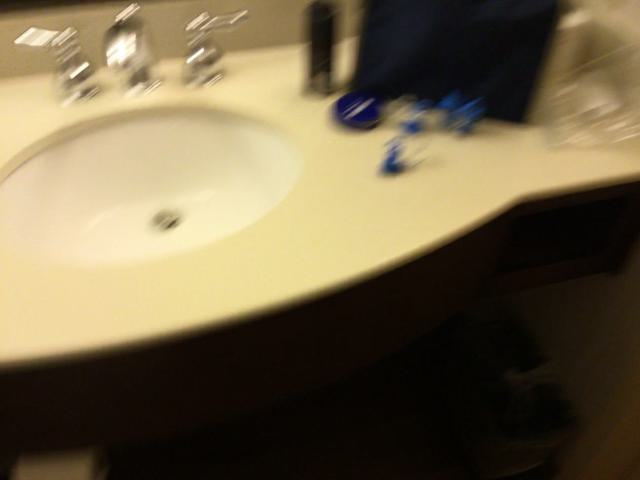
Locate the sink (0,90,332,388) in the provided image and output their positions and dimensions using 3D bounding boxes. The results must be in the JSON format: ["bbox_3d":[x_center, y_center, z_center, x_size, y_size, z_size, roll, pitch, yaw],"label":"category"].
[{"bbox_3d":[-0.240,-0.030,0.840,0.430,0.180,0.350,-10,43,-12],"label":"sink"}]
